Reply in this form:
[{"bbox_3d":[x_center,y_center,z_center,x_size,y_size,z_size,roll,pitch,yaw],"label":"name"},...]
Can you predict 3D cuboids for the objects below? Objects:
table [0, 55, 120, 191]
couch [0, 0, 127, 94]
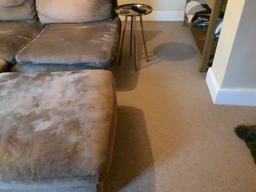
[{"bbox_3d":[-0.590,0.160,1.410,1.010,0.440,1.020,0,38,2],"label":"table"},{"bbox_3d":[-0.550,-0.720,2.250,0.930,0.810,1.150,4,38,6],"label":"couch"}]
